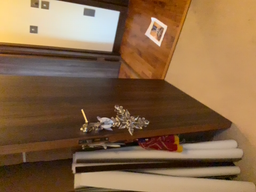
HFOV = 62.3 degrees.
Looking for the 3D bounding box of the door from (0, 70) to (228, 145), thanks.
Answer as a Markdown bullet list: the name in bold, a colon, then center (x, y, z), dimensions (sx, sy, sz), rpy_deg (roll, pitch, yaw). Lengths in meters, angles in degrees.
- **door**: center (-0.410, 0.000, 1.360), dimensions (0.910, 2.020, 0.040), rpy_deg (41, 126, 55)
